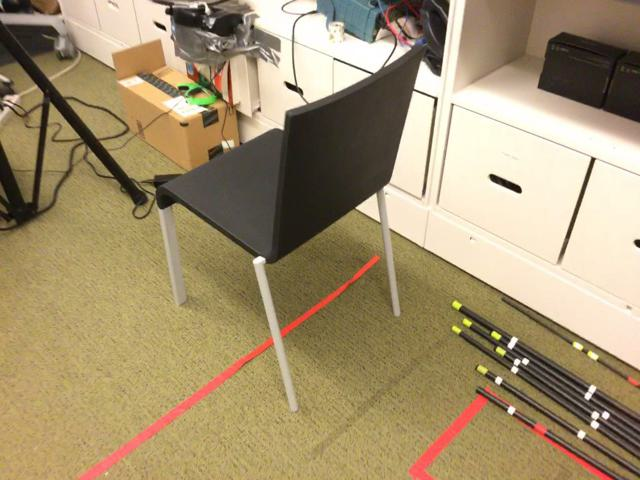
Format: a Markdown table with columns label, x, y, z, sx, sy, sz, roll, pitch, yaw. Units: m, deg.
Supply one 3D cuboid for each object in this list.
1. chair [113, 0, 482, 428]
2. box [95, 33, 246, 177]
| label | x | y | z | sx | sy | sz | roll | pitch | yaw |
| --- | --- | --- | --- | --- | --- | --- | --- | --- | --- |
| chair | -0.060 | -0.100 | 1.390 | 0.470 | 0.770 | 0.580 | -30 | 47 | -34 |
| box | -0.590 | -0.550 | 2.290 | 0.280 | 0.340 | 0.560 | -30 | 47 | -34 |
